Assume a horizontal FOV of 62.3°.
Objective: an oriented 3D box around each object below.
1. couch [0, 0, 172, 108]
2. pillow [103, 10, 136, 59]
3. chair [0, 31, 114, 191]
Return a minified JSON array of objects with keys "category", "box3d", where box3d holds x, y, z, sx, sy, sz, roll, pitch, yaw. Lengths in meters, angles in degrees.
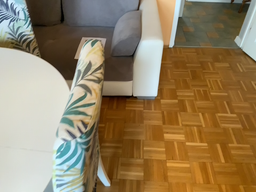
[{"category":"couch","box3d":[-1.000,-0.640,1.960,2.590,0.860,1.020,4,42,3]},{"category":"pillow","box3d":[-0.060,-0.520,1.750,0.220,0.200,0.450,3,42,2]},{"category":"chair","box3d":[-0.330,0.300,0.860,0.520,0.970,0.450,-2,43,-3]}]
